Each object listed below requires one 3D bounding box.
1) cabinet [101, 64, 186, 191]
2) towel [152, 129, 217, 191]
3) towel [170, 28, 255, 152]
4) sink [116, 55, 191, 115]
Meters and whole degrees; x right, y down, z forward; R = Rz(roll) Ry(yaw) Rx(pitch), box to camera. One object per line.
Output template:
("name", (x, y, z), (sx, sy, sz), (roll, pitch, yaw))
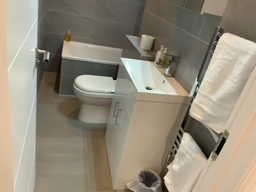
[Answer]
("cabinet", (0.050, 0.240, 1.730), (0.360, 0.790, 0.610), (5, 28, -16))
("towel", (0.290, 0.470, 1.220), (0.090, 0.450, 0.320), (4, 28, -18))
("towel", (0.370, -0.020, 0.950), (0.140, 0.480, 0.260), (5, 28, -16))
("sink", (0.140, -0.110, 1.540), (0.350, 0.130, 0.640), (5, 28, -16))
